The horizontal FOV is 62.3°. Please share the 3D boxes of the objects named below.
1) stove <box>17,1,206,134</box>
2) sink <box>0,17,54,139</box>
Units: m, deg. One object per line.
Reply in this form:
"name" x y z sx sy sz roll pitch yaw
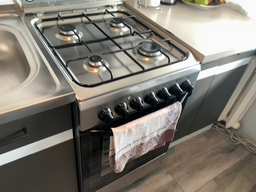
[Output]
"stove" -0.100 -0.200 0.900 0.520 0.150 0.620 -19 48 -28
"sink" -0.490 -0.070 0.670 0.340 0.150 0.460 -19 48 -28
